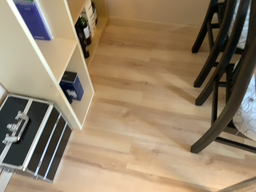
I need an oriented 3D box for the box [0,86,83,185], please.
[{"bbox_3d":[-0.470,0.220,1.080,0.310,0.400,0.330,10,60,7],"label":"box"}]
